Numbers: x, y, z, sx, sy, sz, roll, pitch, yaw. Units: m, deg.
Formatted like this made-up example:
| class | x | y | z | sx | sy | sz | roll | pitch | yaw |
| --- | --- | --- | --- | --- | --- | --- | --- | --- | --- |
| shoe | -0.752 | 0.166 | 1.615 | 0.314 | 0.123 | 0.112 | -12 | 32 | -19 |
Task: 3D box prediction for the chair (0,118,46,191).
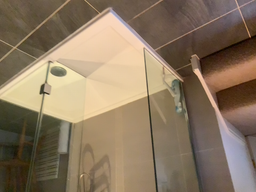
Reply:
| class | x | y | z | sx | sy | sz | roll | pitch | yaw |
| --- | --- | --- | --- | --- | --- | --- | --- | --- | --- |
| chair | -1.280 | 0.750 | 2.430 | 0.360 | 0.880 | 0.400 | -7 | 152 | 8 |
